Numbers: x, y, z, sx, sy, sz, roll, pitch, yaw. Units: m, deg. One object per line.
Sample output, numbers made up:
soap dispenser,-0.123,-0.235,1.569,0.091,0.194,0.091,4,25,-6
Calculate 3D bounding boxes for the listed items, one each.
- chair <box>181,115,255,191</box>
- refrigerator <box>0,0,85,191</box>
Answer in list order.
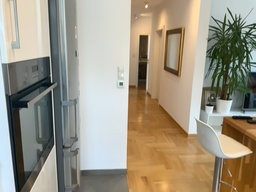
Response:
chair,0.700,0.680,1.720,0.390,0.990,0.340,0,13,-9
refrigerator,-0.780,0.110,1.730,0.750,2.000,0.590,1,13,-5
